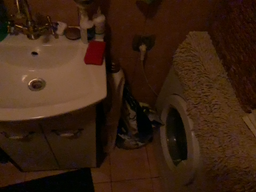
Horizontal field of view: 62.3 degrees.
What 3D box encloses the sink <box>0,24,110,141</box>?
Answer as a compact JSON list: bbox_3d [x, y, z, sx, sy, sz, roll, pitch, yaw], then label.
[{"bbox_3d":[-0.330,-0.060,0.730,0.500,0.150,0.380,-1,56,-10],"label":"sink"}]
